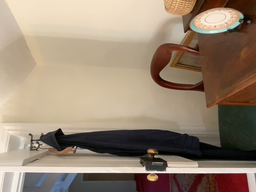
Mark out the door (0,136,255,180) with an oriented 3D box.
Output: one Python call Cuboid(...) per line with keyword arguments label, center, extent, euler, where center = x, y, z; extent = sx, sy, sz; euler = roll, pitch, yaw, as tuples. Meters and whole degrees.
Cuboid(label="door", center=(0.140, 0.320, 1.200), extent=(0.700, 1.700, 0.090), euler=(144, 128, -81))
